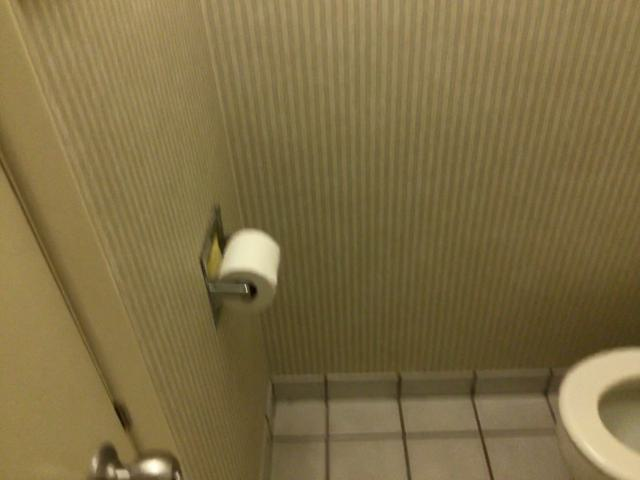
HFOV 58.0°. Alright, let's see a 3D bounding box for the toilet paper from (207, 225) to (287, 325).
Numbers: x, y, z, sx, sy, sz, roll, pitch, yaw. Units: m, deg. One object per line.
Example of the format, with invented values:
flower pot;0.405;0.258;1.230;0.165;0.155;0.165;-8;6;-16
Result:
toilet paper;-0.120;0.060;1.000;0.110;0.120;0.120;-2;37;2
